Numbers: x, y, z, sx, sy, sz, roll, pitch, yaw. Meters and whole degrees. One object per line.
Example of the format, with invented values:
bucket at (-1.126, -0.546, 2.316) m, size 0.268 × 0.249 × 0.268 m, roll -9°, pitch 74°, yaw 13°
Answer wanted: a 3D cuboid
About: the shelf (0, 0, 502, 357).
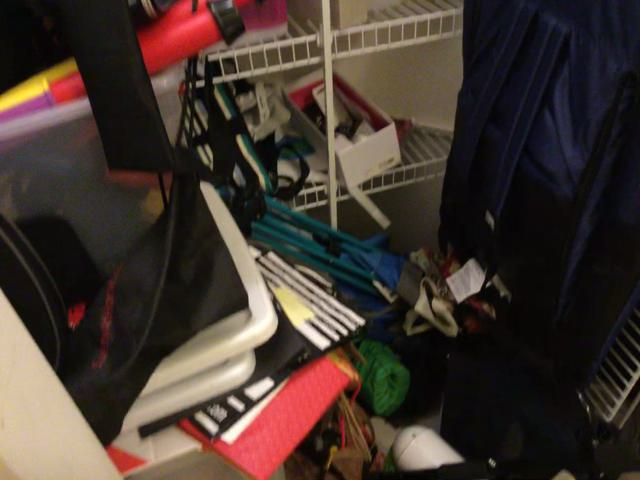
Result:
shelf at (-0.300, -0.460, 0.990) m, size 1.120 × 1.150 × 0.470 m, roll -15°, pitch 44°, yaw -12°
